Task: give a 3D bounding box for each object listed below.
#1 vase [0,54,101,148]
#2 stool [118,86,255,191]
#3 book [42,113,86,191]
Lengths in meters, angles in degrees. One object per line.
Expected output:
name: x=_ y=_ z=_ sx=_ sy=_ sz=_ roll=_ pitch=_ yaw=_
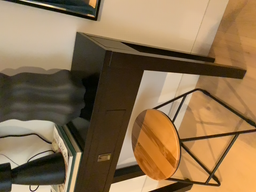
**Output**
vase: x=-0.410 y=0.010 z=0.620 sx=0.170 sy=0.610 sz=0.230 roll=42 pitch=123 yaw=46
stool: x=0.280 y=0.220 z=1.100 sx=0.390 sy=0.450 sz=0.400 roll=44 pitch=125 yaw=45
book: x=-0.270 y=0.270 z=0.860 sx=0.200 sy=0.070 sz=0.340 roll=40 pitch=122 yaw=47
